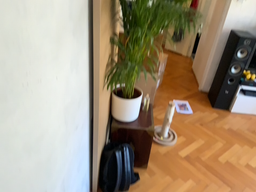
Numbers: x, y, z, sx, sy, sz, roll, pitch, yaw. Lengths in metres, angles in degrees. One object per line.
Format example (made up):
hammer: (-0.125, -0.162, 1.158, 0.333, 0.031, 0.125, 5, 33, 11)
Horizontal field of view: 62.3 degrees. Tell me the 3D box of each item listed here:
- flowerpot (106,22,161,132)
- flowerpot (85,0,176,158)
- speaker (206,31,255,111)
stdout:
flowerpot: (0.030, -0.140, 1.700, 0.320, 0.780, 0.340, 8, 31, 2)
flowerpot: (0.000, -0.310, 1.440, 0.400, 1.190, 0.750, 7, 31, 1)
speaker: (1.310, -0.300, 2.760, 0.240, 0.970, 0.300, 7, 31, 1)
